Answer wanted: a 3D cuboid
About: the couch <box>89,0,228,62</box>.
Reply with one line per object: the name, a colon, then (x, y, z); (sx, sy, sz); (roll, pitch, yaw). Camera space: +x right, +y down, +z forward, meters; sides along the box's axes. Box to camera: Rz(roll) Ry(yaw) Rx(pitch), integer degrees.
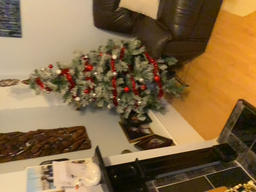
couch: (0.230, -0.910, 1.960); (0.870, 0.930, 0.900); (-125, 38, -50)
